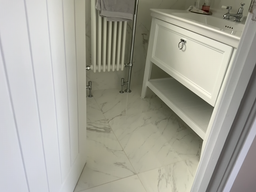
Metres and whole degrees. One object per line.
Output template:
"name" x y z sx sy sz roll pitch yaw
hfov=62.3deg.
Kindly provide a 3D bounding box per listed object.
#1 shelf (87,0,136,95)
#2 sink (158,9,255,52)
"shelf" -0.170 -0.550 1.870 0.370 1.090 0.240 -2 30 -14
"sink" 0.530 -0.480 1.490 0.340 0.140 0.640 -7 31 -22
